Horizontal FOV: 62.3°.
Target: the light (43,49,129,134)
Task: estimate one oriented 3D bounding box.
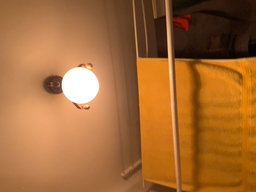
[{"bbox_3d":[-0.210,-0.050,1.080,0.360,0.230,0.310,17,-64,37],"label":"light"}]
